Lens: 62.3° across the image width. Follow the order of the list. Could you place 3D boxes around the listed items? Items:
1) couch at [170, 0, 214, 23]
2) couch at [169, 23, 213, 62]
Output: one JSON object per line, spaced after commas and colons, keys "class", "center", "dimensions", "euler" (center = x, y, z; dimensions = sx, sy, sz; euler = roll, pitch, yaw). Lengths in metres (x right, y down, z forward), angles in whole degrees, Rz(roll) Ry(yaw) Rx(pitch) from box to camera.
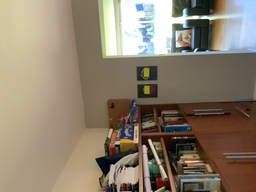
{"class": "couch", "center": [1.570, -2.370, 5.300], "dimensions": [0.870, 0.850, 0.930], "euler": [-81, -10, -76]}
{"class": "couch", "center": [1.590, -1.390, 5.560], "dimensions": [0.970, 0.850, 0.900], "euler": [-81, -10, -76]}
